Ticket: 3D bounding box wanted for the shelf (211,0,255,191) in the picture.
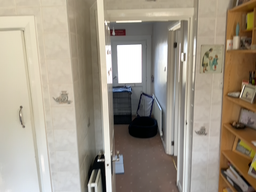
[{"bbox_3d":[0.960,0.340,1.550,0.310,2.010,0.850,-1,12,1],"label":"shelf"}]
